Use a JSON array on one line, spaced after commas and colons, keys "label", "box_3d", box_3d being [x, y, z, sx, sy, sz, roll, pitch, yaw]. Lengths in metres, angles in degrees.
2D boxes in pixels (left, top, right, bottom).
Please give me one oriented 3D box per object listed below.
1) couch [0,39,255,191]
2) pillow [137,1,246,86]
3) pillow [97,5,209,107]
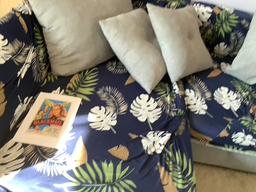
[{"label": "couch", "box_3d": [-0.200, 0.270, 0.950, 1.070, 0.680, 0.520, 12, 44, -2]}, {"label": "pillow", "box_3d": [0.400, -0.370, 1.410, 0.490, 0.320, 0.390, -20, 53, -30]}, {"label": "pillow", "box_3d": [0.130, -0.270, 1.300, 0.430, 0.320, 0.450, -30, 59, -36]}]
